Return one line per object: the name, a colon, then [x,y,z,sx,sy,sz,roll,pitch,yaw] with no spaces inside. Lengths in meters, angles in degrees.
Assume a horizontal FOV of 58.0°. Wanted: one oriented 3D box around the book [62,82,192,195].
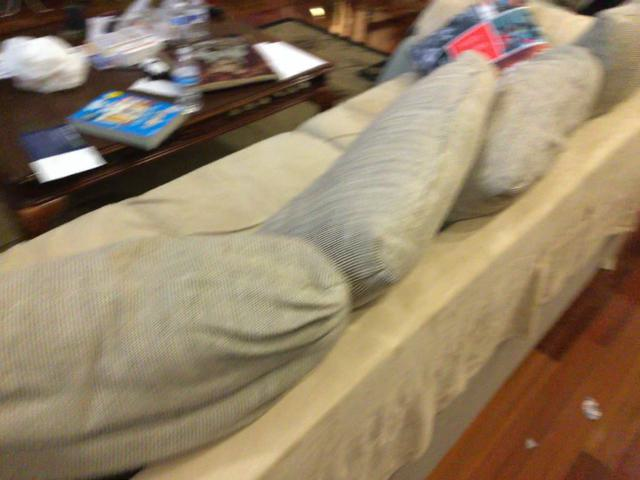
book: [-0.560,-0.300,1.670,0.310,0.220,0.080,33,-16,29]
